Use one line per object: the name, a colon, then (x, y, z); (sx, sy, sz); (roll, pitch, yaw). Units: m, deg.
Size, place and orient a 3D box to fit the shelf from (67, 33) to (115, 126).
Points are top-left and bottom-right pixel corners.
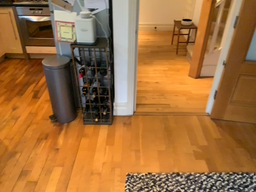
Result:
shelf: (-0.320, -0.140, 2.060); (0.350, 0.830, 0.340); (2, 34, 1)
